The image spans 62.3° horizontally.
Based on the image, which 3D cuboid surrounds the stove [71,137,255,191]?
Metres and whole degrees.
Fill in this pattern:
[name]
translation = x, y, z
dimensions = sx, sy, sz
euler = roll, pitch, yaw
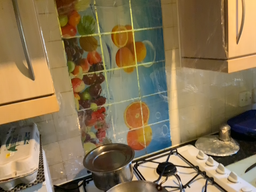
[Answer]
[stove]
translation = 0.120, 0.340, 0.770
dimensions = 0.570, 0.030, 0.530
euler = -13, 16, -19
